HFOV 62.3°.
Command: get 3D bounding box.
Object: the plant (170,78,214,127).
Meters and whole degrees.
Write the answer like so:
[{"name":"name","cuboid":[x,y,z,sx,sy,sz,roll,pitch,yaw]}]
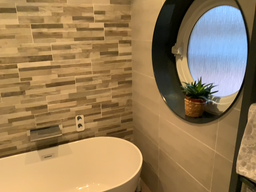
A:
[{"name":"plant","cuboid":[0.450,0.040,1.520,0.220,0.280,0.170,-8,20,-20]}]
